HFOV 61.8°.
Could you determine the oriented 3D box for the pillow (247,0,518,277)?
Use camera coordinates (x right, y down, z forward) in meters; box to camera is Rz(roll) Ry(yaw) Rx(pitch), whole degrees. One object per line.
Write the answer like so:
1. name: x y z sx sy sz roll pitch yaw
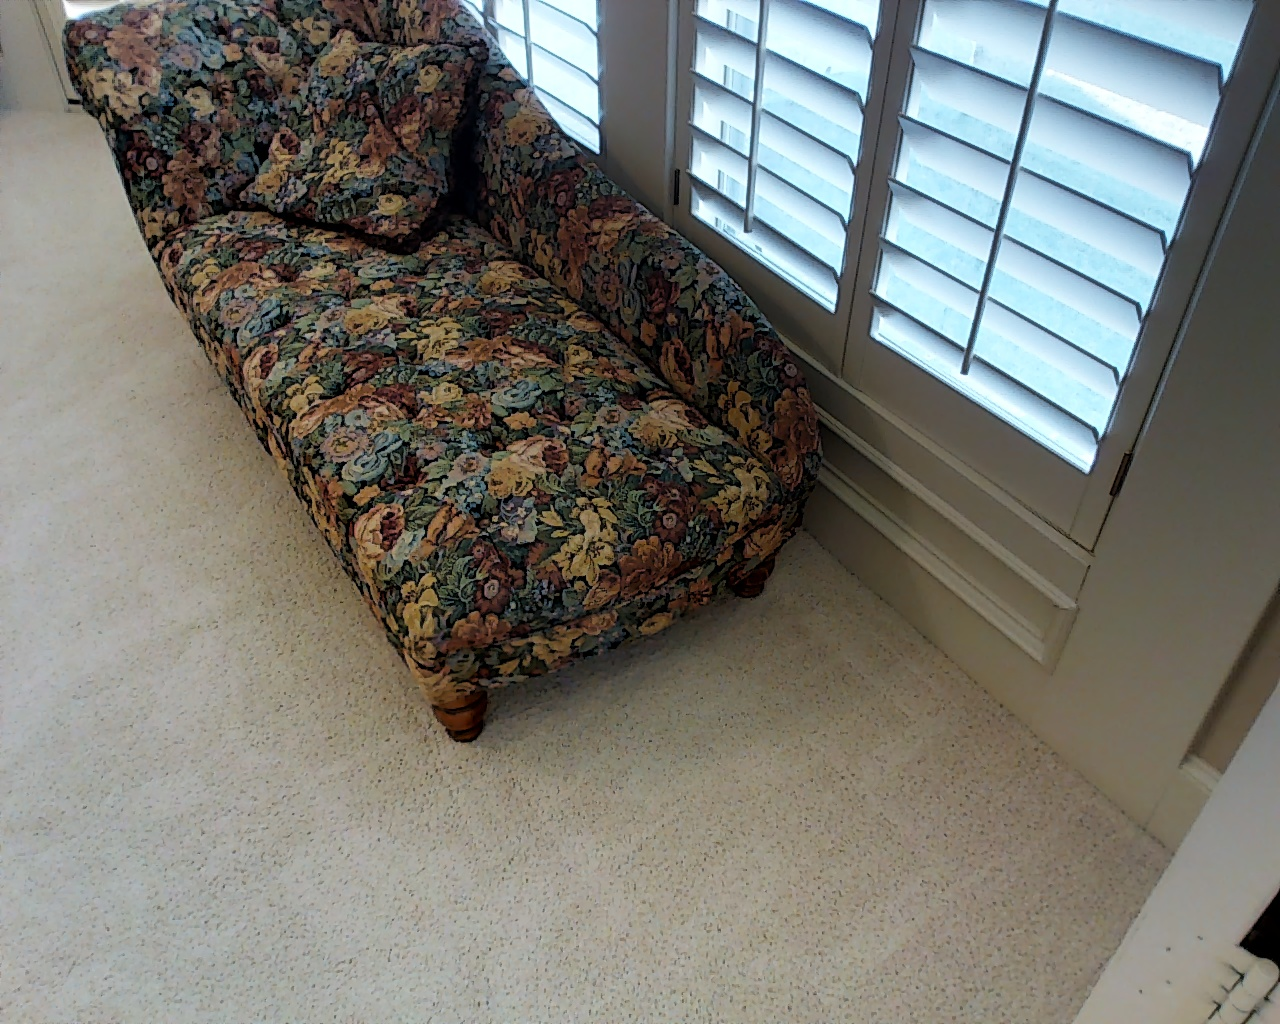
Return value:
1. pillow: -0.610 -0.870 2.460 0.550 0.160 0.540 46 -20 -15
